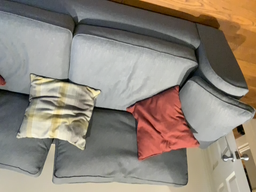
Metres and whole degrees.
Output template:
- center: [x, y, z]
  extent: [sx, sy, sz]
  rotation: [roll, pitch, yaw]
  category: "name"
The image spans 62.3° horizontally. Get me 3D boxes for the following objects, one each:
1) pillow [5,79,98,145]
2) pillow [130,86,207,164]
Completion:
- center: [-0.500, 0.090, 1.520]
  extent: [0.500, 0.470, 0.150]
  rotation: [17, 111, -10]
  category: "pillow"
- center: [0.270, 0.190, 1.620]
  extent: [0.440, 0.490, 0.190]
  rotation: [-32, 110, 9]
  category: "pillow"
